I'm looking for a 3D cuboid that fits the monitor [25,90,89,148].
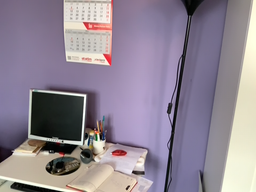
[{"bbox_3d":[-0.440,0.150,1.340,0.360,0.370,0.040,3,23,7],"label":"monitor"}]
